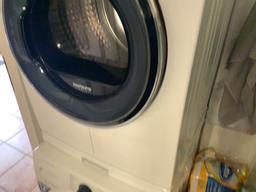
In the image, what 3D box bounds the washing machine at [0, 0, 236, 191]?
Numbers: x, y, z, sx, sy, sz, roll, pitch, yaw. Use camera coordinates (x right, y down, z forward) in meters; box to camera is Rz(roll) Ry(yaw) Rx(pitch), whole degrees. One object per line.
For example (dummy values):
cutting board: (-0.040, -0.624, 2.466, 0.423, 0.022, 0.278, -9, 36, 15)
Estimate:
washing machine: (0.030, -0.250, 0.860, 0.620, 0.890, 0.740, 17, 35, 25)
